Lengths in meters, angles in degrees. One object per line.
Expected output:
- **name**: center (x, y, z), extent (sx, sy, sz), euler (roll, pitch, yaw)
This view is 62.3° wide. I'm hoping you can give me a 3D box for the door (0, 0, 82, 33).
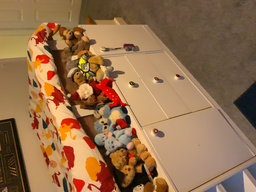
- **door**: center (-1.670, -1.310, 3.120), extent (0.080, 1.950, 0.880), euler (63, 146, 25)
